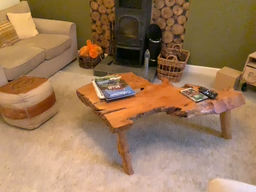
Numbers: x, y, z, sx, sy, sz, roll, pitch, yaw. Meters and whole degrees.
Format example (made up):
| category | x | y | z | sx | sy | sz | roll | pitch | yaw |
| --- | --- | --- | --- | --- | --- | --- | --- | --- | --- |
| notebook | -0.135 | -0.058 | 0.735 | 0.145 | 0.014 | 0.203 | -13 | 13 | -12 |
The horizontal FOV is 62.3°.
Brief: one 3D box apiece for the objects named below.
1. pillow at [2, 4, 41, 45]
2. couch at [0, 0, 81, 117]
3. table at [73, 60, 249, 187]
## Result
| category | x | y | z | sx | sy | sz | roll | pitch | yaw |
| --- | --- | --- | --- | --- | --- | --- | --- | --- | --- |
| pillow | -1.490 | -1.010 | 3.000 | 0.130 | 0.400 | 0.380 | 13 | 53 | 19 |
| couch | -1.510 | -0.670 | 2.730 | 1.080 | 0.800 | 1.750 | 10 | 33 | 11 |
| table | 0.240 | 0.130 | 1.910 | 1.250 | 0.490 | 0.780 | -12 | 35 | -22 |
